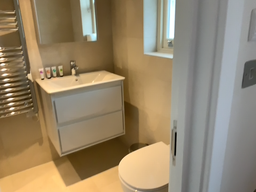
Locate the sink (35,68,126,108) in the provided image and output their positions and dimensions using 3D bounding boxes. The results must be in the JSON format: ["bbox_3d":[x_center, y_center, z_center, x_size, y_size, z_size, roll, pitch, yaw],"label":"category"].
[{"bbox_3d":[-0.410,-0.100,1.840,0.640,0.120,0.460,-14,23,-31],"label":"sink"}]
